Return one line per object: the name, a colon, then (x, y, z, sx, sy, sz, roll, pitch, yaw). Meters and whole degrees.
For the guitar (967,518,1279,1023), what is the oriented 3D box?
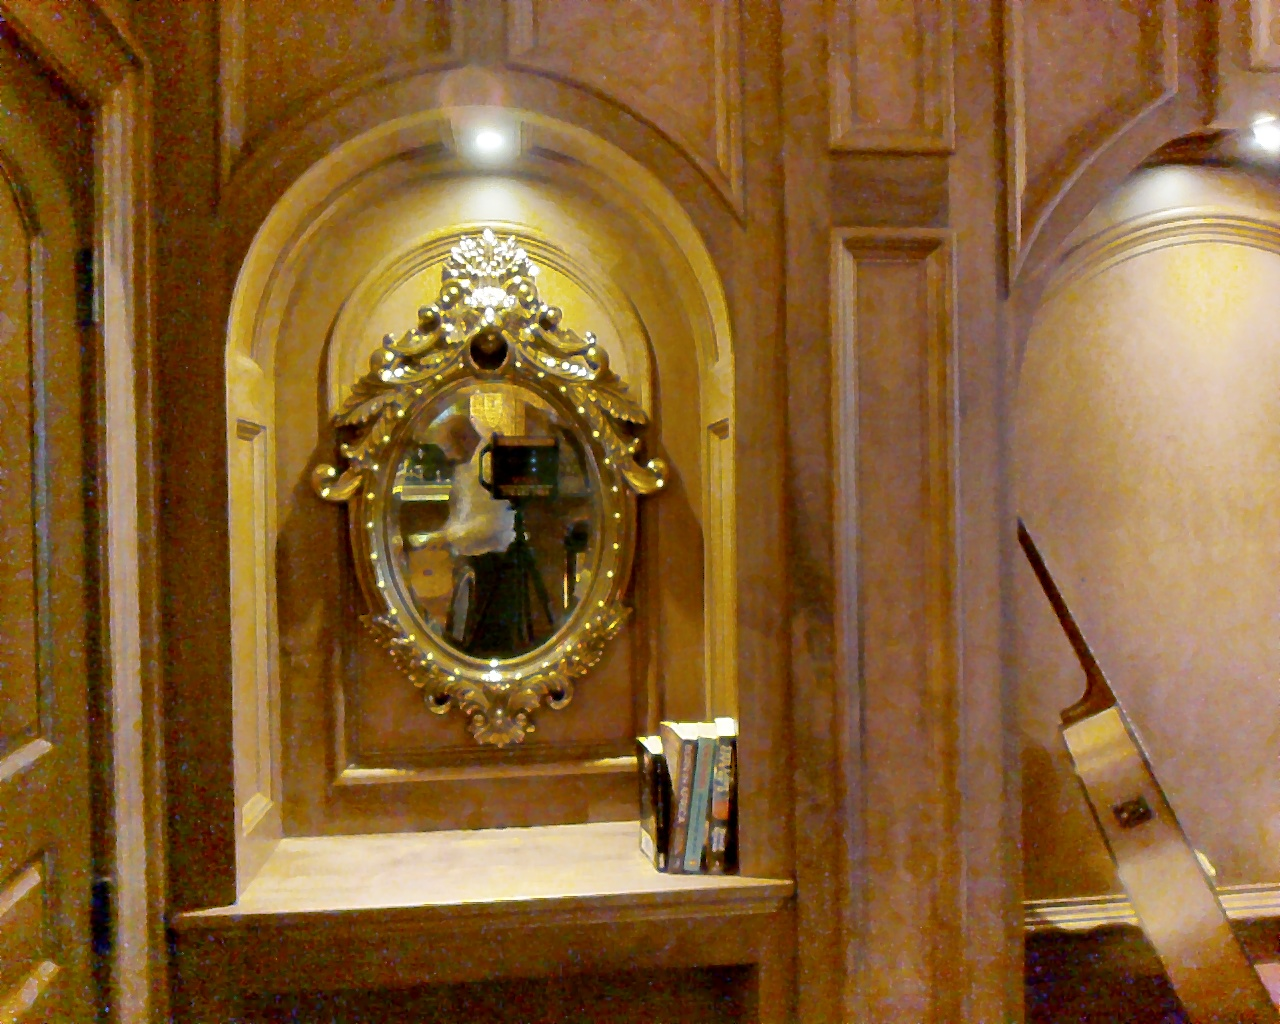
guitar: (0.830, 0.420, 1.730, 0.430, 0.810, 0.430, -1, 0, -7)
